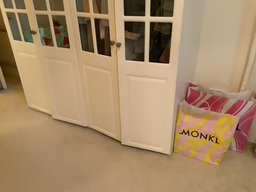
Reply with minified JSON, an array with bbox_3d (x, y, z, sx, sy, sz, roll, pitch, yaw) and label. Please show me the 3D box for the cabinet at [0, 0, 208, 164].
[{"bbox_3d":[-0.280,-0.770,1.500,1.560,2.190,0.530,15,33,26],"label":"cabinet"}]
